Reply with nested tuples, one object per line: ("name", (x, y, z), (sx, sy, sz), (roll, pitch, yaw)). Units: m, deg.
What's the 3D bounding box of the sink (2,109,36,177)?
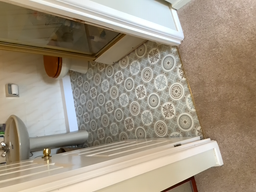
("sink", (-1.130, 0.490, 2.170), (0.460, 0.140, 0.600), (-26, 71, 43))
